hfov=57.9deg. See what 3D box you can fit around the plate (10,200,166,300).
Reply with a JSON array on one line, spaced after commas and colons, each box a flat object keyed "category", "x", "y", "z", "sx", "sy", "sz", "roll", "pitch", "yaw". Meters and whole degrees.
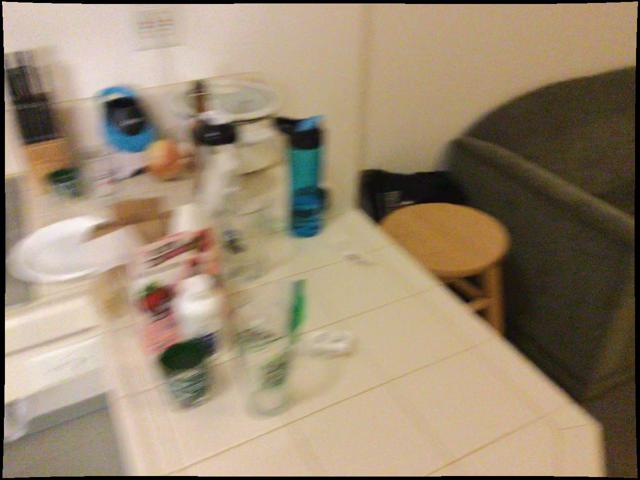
[{"category": "plate", "x": -0.460, "y": 0.010, "z": 1.140, "sx": 0.260, "sy": 0.030, "sz": 0.200, "roll": -17, "pitch": 37, "yaw": -21}]
